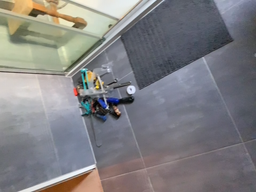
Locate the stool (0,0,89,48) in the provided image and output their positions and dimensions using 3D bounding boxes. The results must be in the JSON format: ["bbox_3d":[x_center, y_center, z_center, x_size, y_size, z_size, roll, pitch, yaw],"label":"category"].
[{"bbox_3d":[-0.640,-0.680,1.570,0.380,0.470,0.450,-25,76,37],"label":"stool"}]
